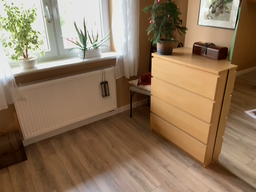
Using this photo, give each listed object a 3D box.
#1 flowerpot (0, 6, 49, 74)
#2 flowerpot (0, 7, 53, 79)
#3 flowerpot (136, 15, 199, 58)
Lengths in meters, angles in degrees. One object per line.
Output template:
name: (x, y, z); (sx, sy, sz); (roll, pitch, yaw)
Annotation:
flowerpot: (-1.050, -0.580, 2.180); (0.300, 0.630, 0.200); (-19, 30, -35)
flowerpot: (-1.050, -0.560, 2.230); (0.340, 0.670, 0.250); (-17, 29, -31)
flowerpot: (0.410, -0.680, 2.340); (0.360, 0.360, 0.570); (-17, 29, -32)
